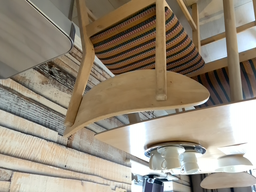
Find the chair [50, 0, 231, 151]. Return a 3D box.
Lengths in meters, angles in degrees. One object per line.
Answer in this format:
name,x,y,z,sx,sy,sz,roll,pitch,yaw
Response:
chair,0.090,-0.210,1.060,0.540,0.780,0.570,-16,147,27
